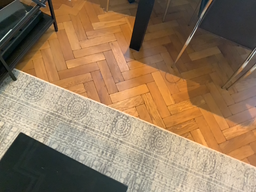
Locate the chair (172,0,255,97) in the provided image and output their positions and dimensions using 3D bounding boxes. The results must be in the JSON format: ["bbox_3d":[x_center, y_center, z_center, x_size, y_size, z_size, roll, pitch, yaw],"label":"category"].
[{"bbox_3d":[0.700,-0.540,1.270,0.410,0.980,0.630,23,64,3],"label":"chair"}]
